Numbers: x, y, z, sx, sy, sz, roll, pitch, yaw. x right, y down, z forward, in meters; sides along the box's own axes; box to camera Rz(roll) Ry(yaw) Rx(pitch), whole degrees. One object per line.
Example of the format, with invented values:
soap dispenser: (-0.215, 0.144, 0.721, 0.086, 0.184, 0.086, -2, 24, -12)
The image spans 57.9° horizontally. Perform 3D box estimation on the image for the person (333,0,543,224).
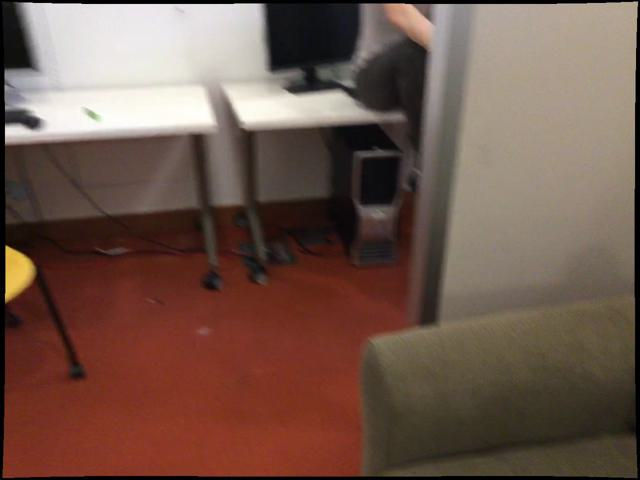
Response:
person: (0.390, -0.641, 2.240, 0.450, 0.901, 0.710, -5, 30, -14)
